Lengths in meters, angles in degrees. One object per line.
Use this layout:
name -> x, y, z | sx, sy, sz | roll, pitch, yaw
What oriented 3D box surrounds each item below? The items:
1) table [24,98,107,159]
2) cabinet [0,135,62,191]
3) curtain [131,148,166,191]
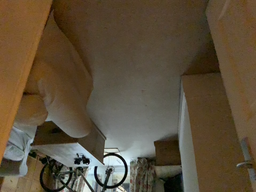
table -> -0.750, 0.500, 2.870 | 0.610, 0.440, 1.080 | -6, 150, 11
cabinet -> -1.960, 1.480, 4.150 | 0.460, 0.900, 1.660 | -5, 150, 10
curtain -> 0.410, 2.320, 3.870 | 0.640, 2.660, 0.300 | -6, 150, 11
